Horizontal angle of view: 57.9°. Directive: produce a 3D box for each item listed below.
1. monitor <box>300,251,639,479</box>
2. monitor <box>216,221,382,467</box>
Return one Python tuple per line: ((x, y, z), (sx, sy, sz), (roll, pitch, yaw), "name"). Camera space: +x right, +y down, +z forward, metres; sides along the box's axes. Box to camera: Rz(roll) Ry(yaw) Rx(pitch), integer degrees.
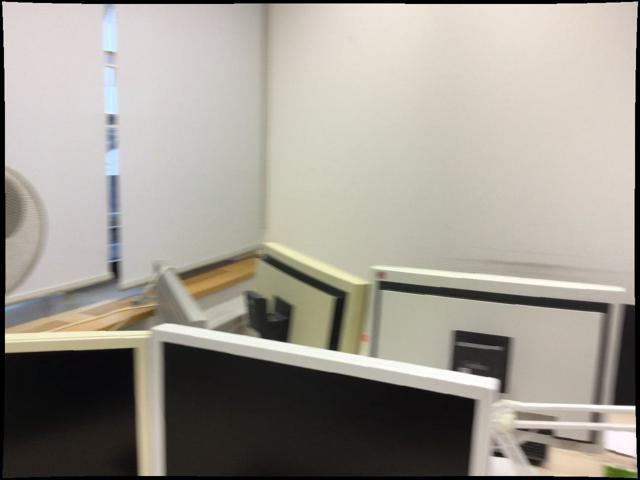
((0.320, 0.340, 1.310), (0.659, 0.510, 0.300), (6, 15, 26), "monitor")
((-0.080, 0.260, 1.700), (0.220, 0.440, 0.610), (-14, 24, -24), "monitor")
